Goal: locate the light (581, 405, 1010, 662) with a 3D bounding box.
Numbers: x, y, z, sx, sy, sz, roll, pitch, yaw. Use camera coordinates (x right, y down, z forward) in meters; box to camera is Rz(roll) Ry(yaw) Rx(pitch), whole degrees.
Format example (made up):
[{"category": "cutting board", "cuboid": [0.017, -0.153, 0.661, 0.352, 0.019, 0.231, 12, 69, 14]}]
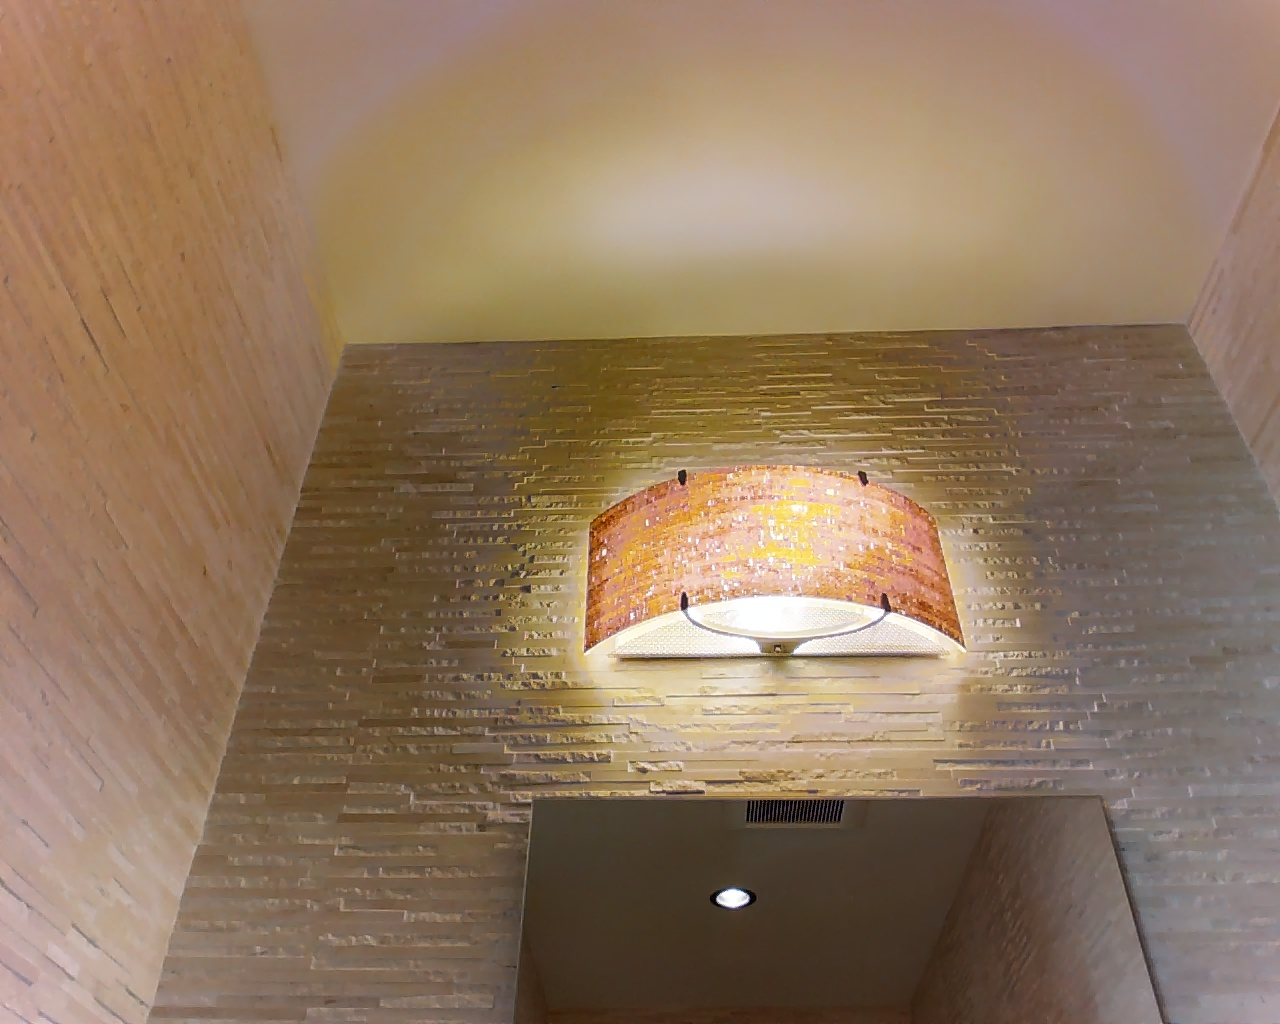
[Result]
[{"category": "light", "cuboid": [0.160, 0.020, 1.220, 0.430, 0.270, 0.120, -1, -42, 3]}]
